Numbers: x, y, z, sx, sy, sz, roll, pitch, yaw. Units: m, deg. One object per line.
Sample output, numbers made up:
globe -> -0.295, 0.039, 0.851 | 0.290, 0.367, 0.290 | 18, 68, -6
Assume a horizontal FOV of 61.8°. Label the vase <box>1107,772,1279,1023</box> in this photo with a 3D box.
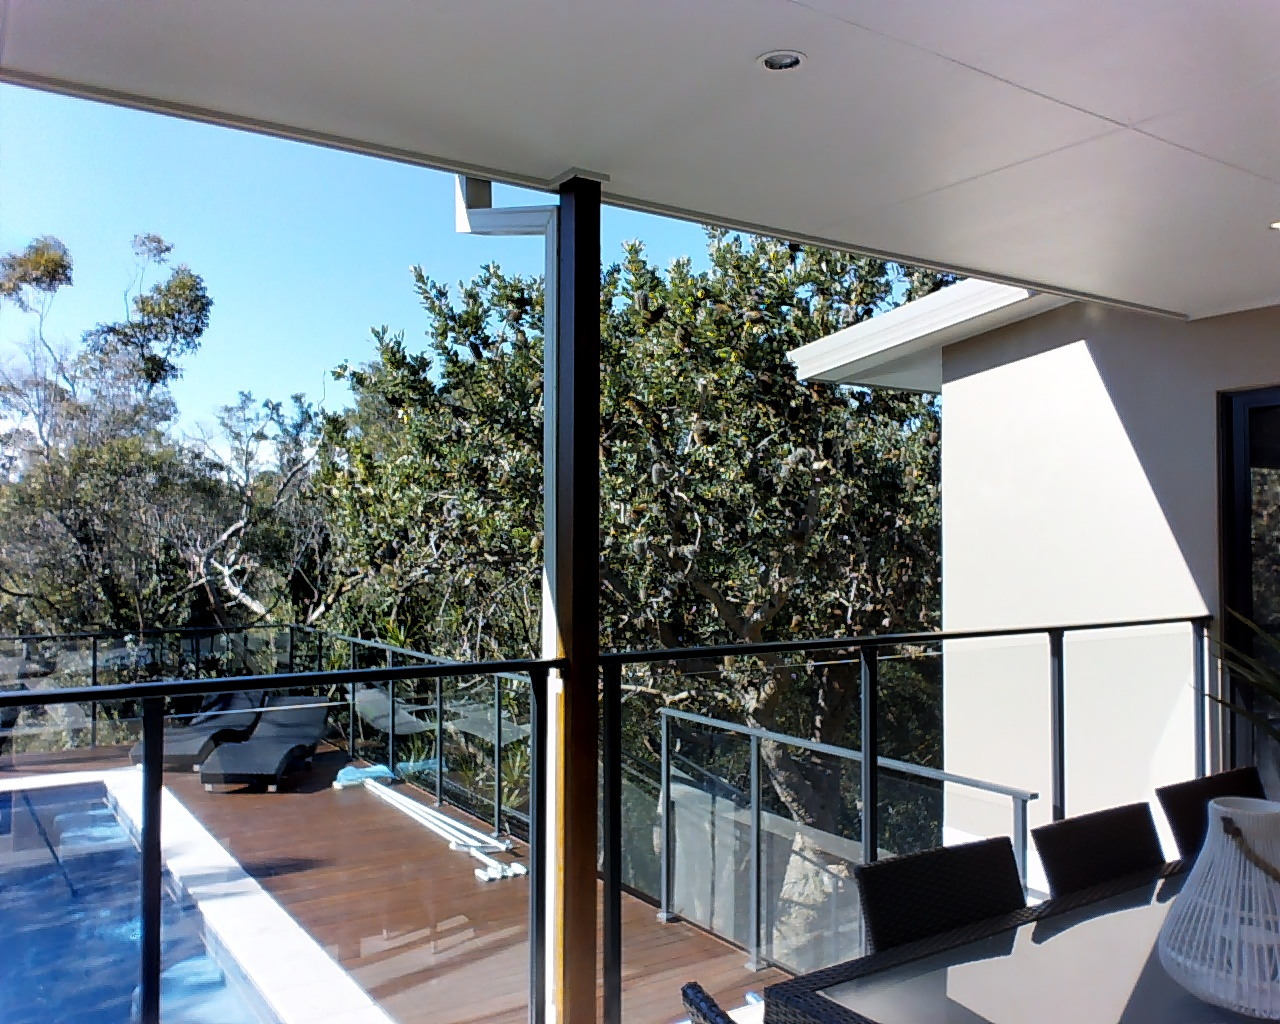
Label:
vase -> 1.030, 0.690, 1.870 | 0.330, 0.390, 0.310 | 0, -2, 11
